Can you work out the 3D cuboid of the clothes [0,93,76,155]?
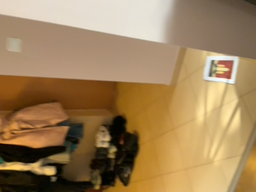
[{"bbox_3d":[-1.140,0.320,2.600,0.380,0.820,0.600,-52,47,44],"label":"clothes"}]

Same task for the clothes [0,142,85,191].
[{"bbox_3d":[-1.130,1.100,2.750,0.350,0.950,0.850,38,121,53],"label":"clothes"}]
